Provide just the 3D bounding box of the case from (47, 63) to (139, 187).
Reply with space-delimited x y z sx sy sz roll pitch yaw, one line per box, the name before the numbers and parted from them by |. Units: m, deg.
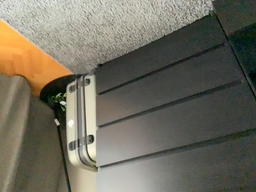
case | -0.230 0.230 1.550 0.350 0.710 0.490 -21 145 23
